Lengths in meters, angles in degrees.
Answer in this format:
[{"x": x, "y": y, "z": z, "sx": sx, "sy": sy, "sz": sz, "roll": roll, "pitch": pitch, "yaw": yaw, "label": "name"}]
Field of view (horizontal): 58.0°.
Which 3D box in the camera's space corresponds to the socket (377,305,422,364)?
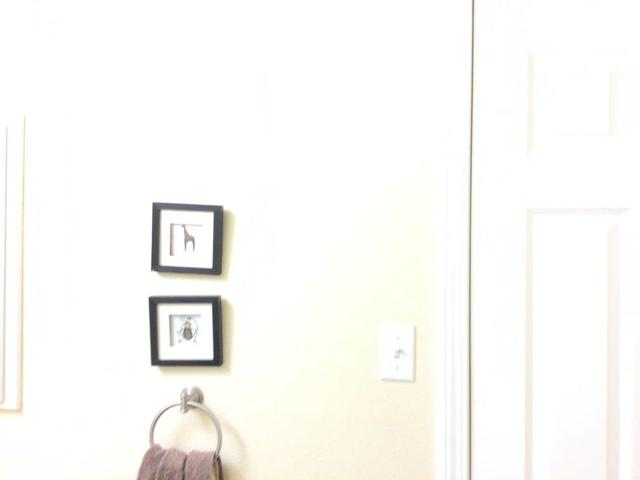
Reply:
[{"x": 0.160, "y": 0.190, "z": 1.160, "sx": 0.080, "sy": 0.110, "sz": 0.020, "roll": -5, "pitch": -3, "yaw": 8, "label": "socket"}]
